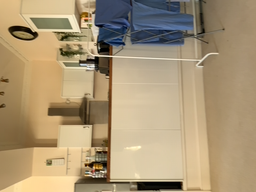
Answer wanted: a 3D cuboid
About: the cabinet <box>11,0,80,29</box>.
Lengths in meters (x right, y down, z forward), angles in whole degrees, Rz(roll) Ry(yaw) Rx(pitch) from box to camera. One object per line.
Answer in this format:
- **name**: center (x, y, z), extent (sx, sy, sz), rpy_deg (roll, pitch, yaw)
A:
- **cabinet**: center (-1.190, -1.280, 3.180), extent (0.480, 0.840, 0.310), rpy_deg (107, 164, -80)
